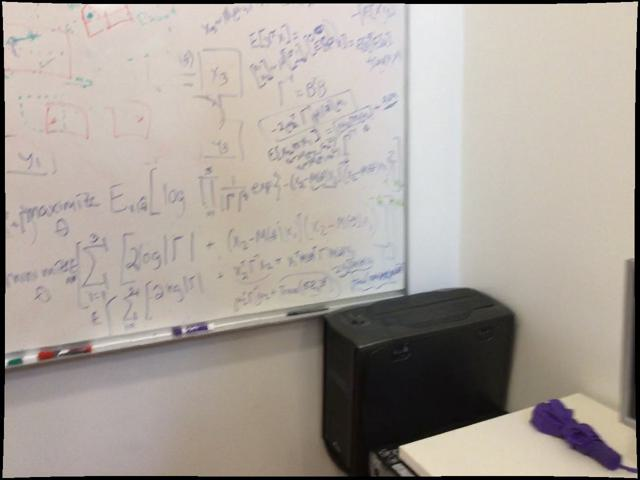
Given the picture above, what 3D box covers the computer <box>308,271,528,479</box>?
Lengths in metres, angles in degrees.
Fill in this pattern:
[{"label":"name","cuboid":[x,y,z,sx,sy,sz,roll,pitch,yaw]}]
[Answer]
[{"label":"computer","cuboid":[0.310,0.450,1.910,0.620,0.551,0.320,-7,16,-25]}]
